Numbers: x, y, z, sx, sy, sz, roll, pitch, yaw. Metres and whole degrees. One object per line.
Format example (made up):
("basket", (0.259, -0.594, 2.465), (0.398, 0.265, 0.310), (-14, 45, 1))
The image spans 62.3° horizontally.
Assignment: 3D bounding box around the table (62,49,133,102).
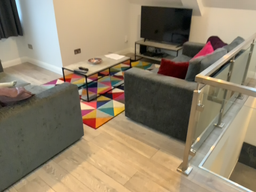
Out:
("table", (-0.440, -0.390, 3.450), (0.520, 0.450, 1.060), (19, 33, 31))
